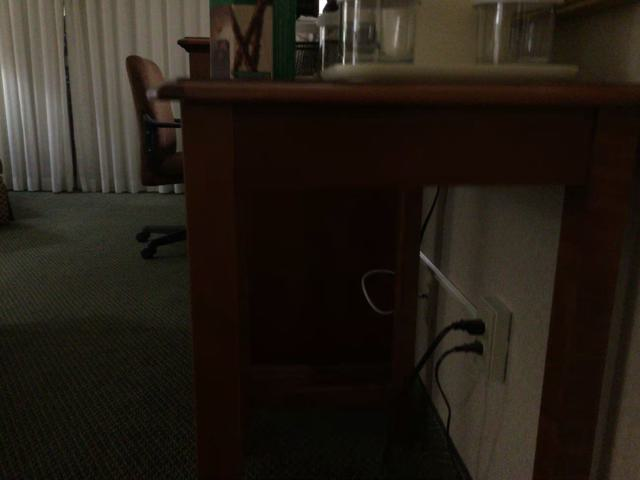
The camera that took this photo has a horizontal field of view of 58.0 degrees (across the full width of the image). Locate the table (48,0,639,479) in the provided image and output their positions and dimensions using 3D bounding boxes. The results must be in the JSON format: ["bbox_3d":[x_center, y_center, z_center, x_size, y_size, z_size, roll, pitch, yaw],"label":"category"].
[{"bbox_3d":[0.020,0.130,0.910,0.530,0.870,0.750,1,15,-5],"label":"table"}]

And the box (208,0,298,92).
[{"bbox_3d":[-0.080,-0.270,0.700,0.100,0.170,0.100,1,15,-5],"label":"box"}]

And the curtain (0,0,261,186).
[{"bbox_3d":[-1.660,-1.450,4.200,2.440,2.030,0.310,1,15,-5],"label":"curtain"}]
